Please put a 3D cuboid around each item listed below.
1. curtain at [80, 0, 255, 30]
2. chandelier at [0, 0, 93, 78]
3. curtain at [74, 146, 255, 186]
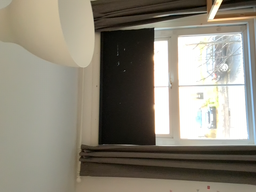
[{"bbox_3d":[0.390,-0.940,2.120,0.130,1.750,0.400,38,-129,-80],"label":"curtain"},{"bbox_3d":[-0.470,-0.320,0.920,0.410,0.510,0.450,-19,-72,-81],"label":"chandelier"},{"bbox_3d":[0.440,0.630,1.960,0.160,1.880,0.290,50,-141,-77],"label":"curtain"}]
